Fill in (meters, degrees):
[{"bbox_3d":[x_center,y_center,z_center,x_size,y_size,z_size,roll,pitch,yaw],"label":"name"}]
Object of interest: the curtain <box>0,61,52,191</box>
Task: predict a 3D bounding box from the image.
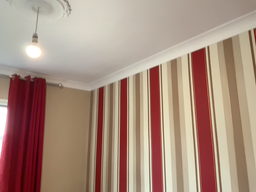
[{"bbox_3d":[-1.280,0.580,2.550,0.500,1.930,0.220,12,-18,-41],"label":"curtain"}]
